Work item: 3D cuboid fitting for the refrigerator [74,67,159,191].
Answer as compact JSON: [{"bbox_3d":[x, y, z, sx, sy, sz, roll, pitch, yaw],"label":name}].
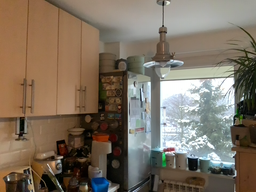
[{"bbox_3d":[-0.100,0.740,2.710,0.700,2.030,0.910,0,-2,28],"label":"refrigerator"}]
